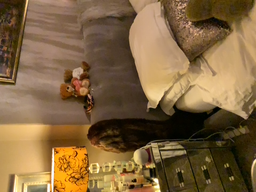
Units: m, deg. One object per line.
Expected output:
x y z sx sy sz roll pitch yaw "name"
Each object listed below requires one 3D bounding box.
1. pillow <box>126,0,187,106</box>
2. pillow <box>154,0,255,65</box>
0.150 -0.340 1.470 0.170 0.440 0.670 -7 61 -10 "pillow"
0.380 -0.580 1.250 0.150 0.460 0.640 -1 60 -21 "pillow"
